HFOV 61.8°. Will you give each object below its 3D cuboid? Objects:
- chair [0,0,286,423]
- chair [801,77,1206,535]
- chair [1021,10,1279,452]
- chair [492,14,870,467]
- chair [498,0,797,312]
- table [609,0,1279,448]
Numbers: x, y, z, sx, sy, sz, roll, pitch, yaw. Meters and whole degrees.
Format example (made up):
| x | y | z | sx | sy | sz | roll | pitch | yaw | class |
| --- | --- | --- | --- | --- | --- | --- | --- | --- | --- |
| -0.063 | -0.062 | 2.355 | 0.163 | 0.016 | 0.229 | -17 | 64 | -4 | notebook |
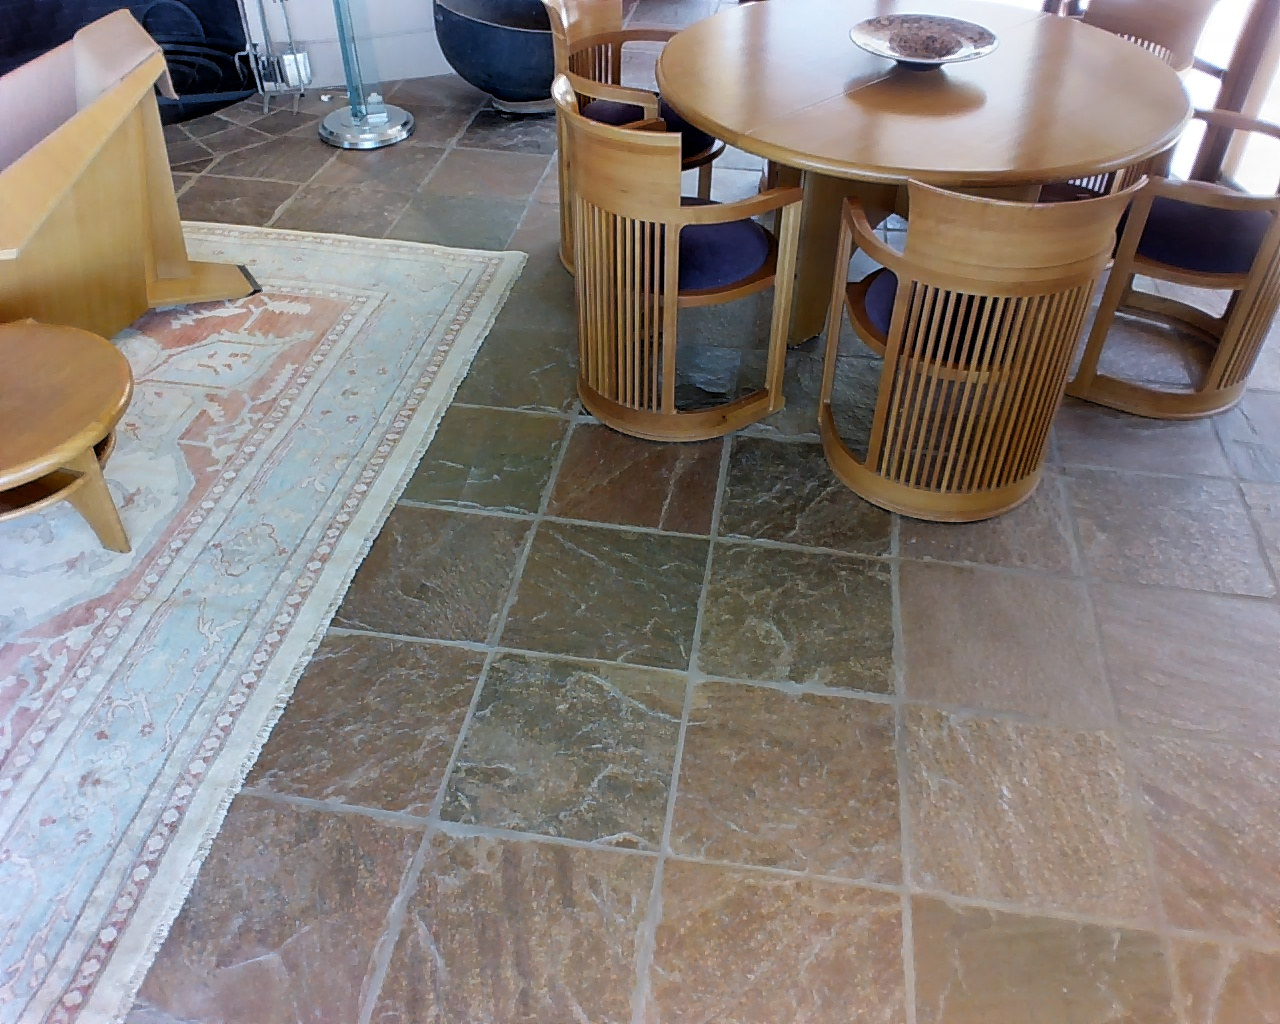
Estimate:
| x | y | z | sx | sy | sz | roll | pitch | yaw | class |
| --- | --- | --- | --- | --- | --- | --- | --- | --- | --- |
| -1.590 | -0.860 | 2.850 | 0.890 | 0.750 | 0.930 | -20 | 45 | -22 | chair |
| 0.740 | -0.470 | 2.440 | 0.640 | 0.780 | 0.600 | 6 | 41 | 6 | chair |
| 1.460 | -0.730 | 2.730 | 0.600 | 0.790 | 0.640 | 22 | 45 | 23 | chair |
| 0.080 | -0.690 | 2.670 | 0.590 | 0.800 | 0.620 | -27 | 48 | -28 | chair |
| 0.040 | -1.180 | 3.260 | 0.620 | 0.780 | 0.690 | 17 | 43 | 18 | chair |
| 0.770 | -0.990 | 3.090 | 1.430 | 0.680 | 1.490 | 8 | 41 | 8 | table |
